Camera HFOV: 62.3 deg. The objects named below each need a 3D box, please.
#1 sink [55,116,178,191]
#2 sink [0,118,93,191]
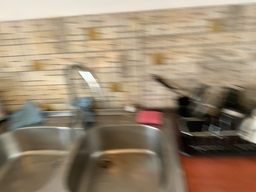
[{"bbox_3d":[-0.020,0.270,0.850,0.370,0.170,0.410,-1,28,5],"label":"sink"},{"bbox_3d":[-0.390,0.280,0.890,0.380,0.170,0.410,-1,28,5],"label":"sink"}]
